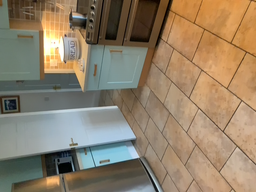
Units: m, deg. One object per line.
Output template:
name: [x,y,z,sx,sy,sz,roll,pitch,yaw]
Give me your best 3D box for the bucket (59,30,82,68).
bucket: [-0.730,-0.590,2.650,0.300,0.210,0.360,58,142,45]
